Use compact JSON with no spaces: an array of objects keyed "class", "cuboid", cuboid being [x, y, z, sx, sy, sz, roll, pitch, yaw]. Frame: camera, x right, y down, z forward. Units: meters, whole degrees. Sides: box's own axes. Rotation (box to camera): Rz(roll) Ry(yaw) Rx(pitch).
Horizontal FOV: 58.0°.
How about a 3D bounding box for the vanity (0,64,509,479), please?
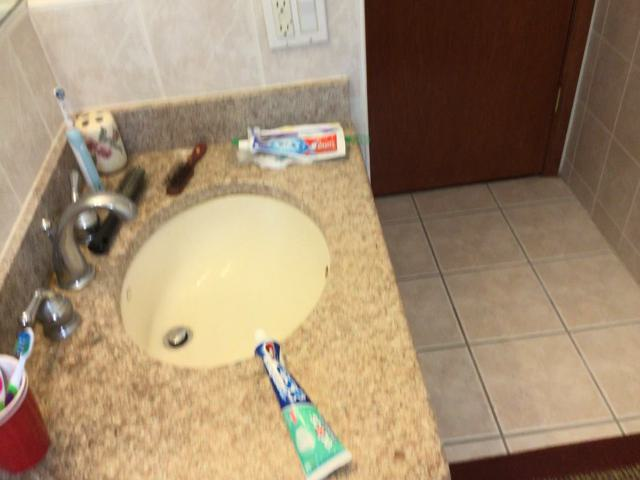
[{"class":"vanity","cuboid":[-0.120,0.290,1.140,0.600,0.890,0.830,-8,41,-1]}]
